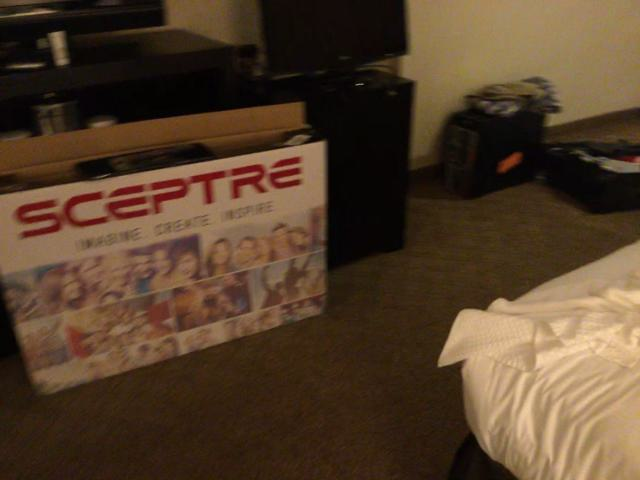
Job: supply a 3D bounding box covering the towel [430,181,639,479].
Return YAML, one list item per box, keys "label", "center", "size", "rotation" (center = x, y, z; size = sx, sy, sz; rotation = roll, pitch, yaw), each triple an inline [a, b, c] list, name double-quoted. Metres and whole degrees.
- label: "towel"
  center: [0.580, 0.170, 1.040]
  size: [0.570, 0.320, 0.460]
  rotation: [-16, 30, -26]

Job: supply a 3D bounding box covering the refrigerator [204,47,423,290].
- label: "refrigerator"
  center: [-0.040, -0.360, 2.550]
  size: [0.660, 0.800, 0.660]
  rotation: [-16, 30, -26]
